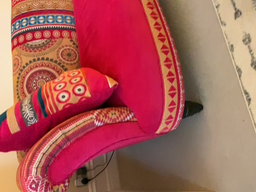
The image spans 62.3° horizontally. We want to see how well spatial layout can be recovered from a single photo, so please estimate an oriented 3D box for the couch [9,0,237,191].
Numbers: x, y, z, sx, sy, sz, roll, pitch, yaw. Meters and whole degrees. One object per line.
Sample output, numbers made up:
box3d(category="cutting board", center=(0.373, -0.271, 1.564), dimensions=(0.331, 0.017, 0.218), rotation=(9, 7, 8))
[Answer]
box3d(category="couch", center=(-0.330, -0.730, 1.400), dimensions=(1.030, 0.770, 2.470), rotation=(-31, 65, 56))
